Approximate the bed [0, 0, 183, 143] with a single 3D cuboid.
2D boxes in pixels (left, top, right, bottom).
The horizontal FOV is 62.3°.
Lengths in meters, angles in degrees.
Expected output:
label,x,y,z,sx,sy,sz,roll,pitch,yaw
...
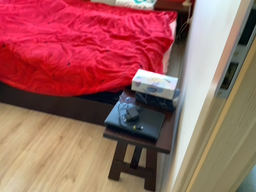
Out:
label,x,y,z,sx,sy,sz,roll,pitch,yaw
bed,-0.540,-0.570,2.210,1.970,0.500,1.690,13,40,10
